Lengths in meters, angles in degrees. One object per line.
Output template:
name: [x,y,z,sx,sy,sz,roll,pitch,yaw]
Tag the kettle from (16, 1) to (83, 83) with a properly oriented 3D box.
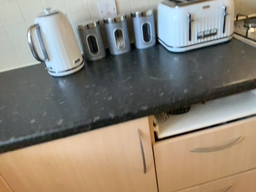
kettle: [-0.320,-0.240,0.920,0.170,0.270,0.210,-14,33,-7]
